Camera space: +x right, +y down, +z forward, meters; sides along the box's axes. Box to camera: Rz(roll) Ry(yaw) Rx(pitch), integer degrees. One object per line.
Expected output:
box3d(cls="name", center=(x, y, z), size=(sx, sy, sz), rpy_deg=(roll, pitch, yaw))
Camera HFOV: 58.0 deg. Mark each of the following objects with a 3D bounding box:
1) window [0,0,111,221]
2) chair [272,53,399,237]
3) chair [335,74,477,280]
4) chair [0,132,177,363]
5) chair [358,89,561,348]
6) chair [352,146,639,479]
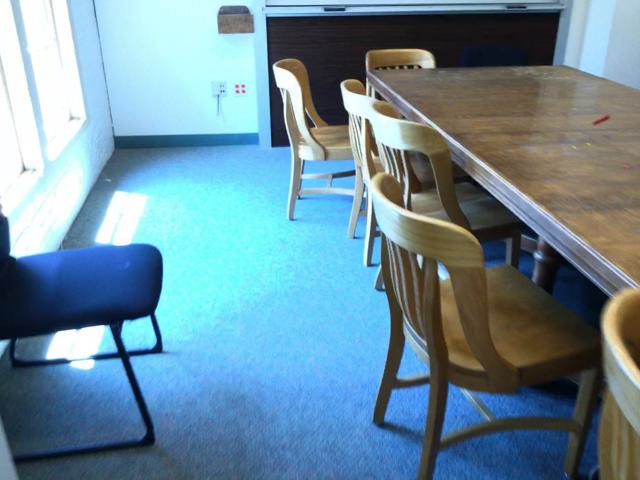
box3d(cls="window", center=(-1.330, -0.720, 2.560), size=(0.250, 0.710, 2.110), rpy_deg=(-5, 25, -6))
box3d(cls="chair", center=(0.070, -0.540, 3.170), size=(0.580, 0.840, 0.580), rpy_deg=(-5, 25, -6))
box3d(cls="chair", center=(0.370, -0.310, 2.720), size=(0.510, 0.820, 0.490), rpy_deg=(-5, 25, -6))
box3d(cls="chair", center=(-0.750, 0.000, 1.670), size=(0.550, 0.480, 0.480), rpy_deg=(-5, 25, -6))
box3d(cls="chair", center=(0.490, -0.110, 2.300), size=(0.570, 0.840, 0.560), rpy_deg=(-5, 25, -6))
box3d(cls="chair", center=(0.440, 0.250, 1.560), size=(0.600, 0.830, 0.590), rpy_deg=(-5, 25, -6))
